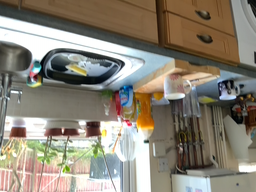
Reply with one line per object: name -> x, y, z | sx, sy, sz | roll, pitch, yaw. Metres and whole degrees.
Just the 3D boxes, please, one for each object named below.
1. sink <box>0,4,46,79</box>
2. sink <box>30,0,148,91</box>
sink -> -0.470, -0.200, 0.870 | 0.190, 0.140, 0.350 | 6, 164, -29
sink -> -0.220, -0.190, 1.020 | 0.400, 0.180, 0.510 | 6, 164, -29
